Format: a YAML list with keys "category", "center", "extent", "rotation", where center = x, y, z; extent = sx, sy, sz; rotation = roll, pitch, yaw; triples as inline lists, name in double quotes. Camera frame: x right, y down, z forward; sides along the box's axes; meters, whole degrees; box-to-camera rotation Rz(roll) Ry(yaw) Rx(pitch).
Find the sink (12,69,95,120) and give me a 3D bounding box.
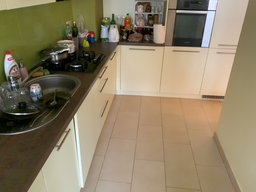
- category: "sink"
  center: [-0.540, -0.030, 1.670]
  extent: [0.460, 0.190, 0.450]
  rotation: [4, 28, 4]
